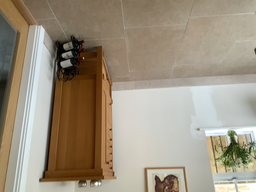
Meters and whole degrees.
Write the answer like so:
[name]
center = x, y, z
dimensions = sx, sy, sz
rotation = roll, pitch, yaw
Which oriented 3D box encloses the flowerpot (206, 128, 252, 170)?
[flowerpot]
center = 1.390, 0.750, 2.980
dimensions = 0.410, 0.520, 0.330
rotation = -3, 159, 2
